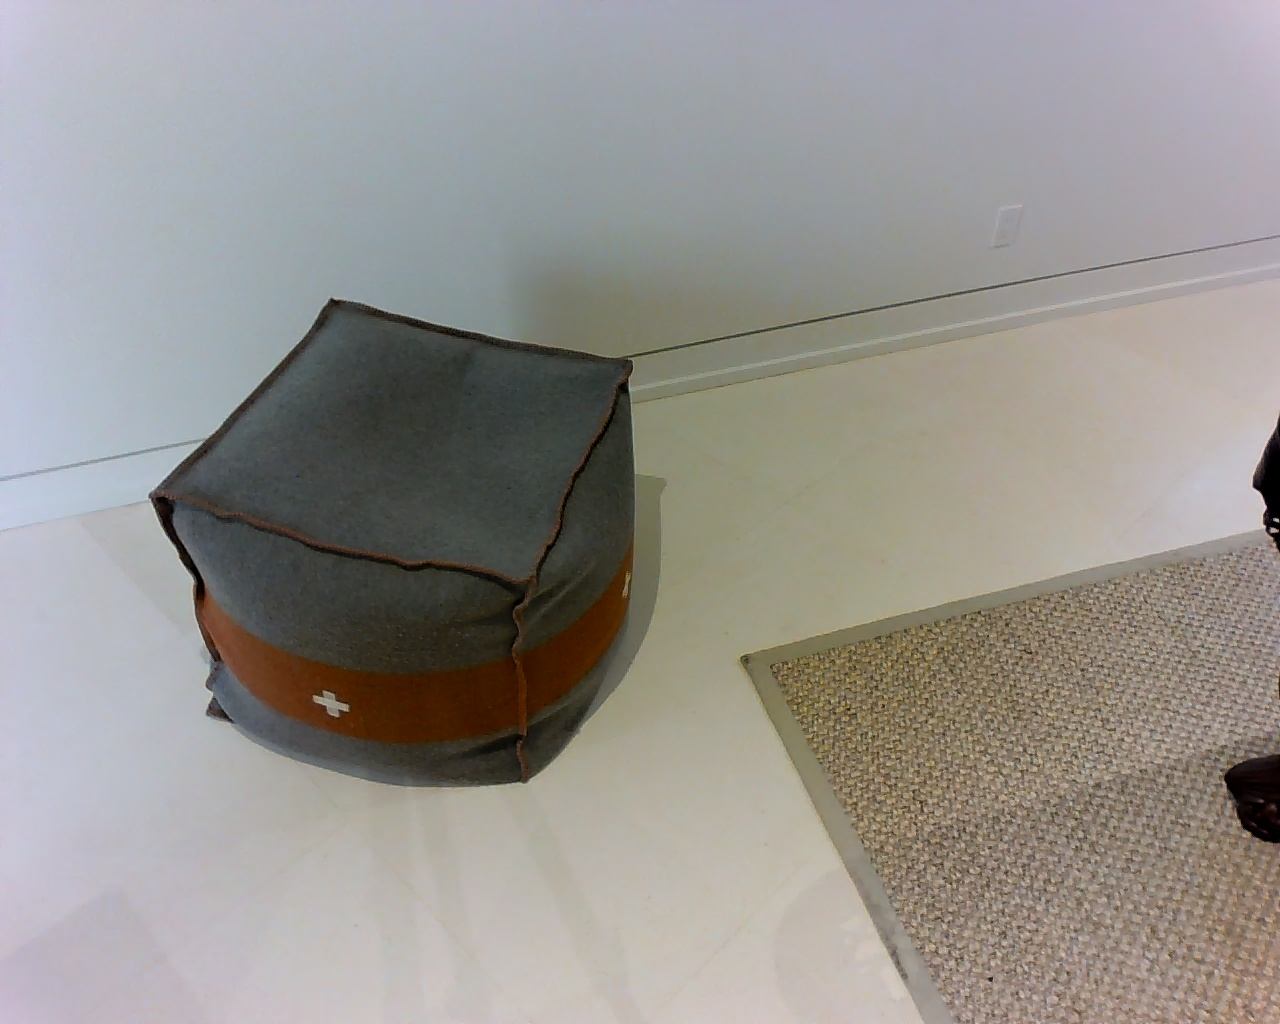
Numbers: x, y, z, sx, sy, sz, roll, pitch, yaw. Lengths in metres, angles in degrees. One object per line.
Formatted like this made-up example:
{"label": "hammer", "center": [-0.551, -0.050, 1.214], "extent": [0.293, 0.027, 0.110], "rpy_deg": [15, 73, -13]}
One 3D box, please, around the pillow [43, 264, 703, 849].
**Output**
{"label": "pillow", "center": [-0.390, 0.030, 2.050], "extent": [0.860, 0.560, 0.870], "rpy_deg": [8, 42, 9]}
